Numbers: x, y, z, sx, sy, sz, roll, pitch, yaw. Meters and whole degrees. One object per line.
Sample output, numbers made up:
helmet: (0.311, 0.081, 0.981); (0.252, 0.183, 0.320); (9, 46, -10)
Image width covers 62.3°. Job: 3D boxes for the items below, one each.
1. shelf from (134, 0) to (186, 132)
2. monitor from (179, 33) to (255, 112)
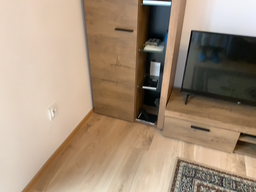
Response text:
shelf: (0.270, -0.580, 1.700); (0.280, 1.900, 0.390); (12, 34, 17)
monitor: (0.950, -0.150, 1.690); (0.980, 0.580, 0.060); (11, 37, 16)
